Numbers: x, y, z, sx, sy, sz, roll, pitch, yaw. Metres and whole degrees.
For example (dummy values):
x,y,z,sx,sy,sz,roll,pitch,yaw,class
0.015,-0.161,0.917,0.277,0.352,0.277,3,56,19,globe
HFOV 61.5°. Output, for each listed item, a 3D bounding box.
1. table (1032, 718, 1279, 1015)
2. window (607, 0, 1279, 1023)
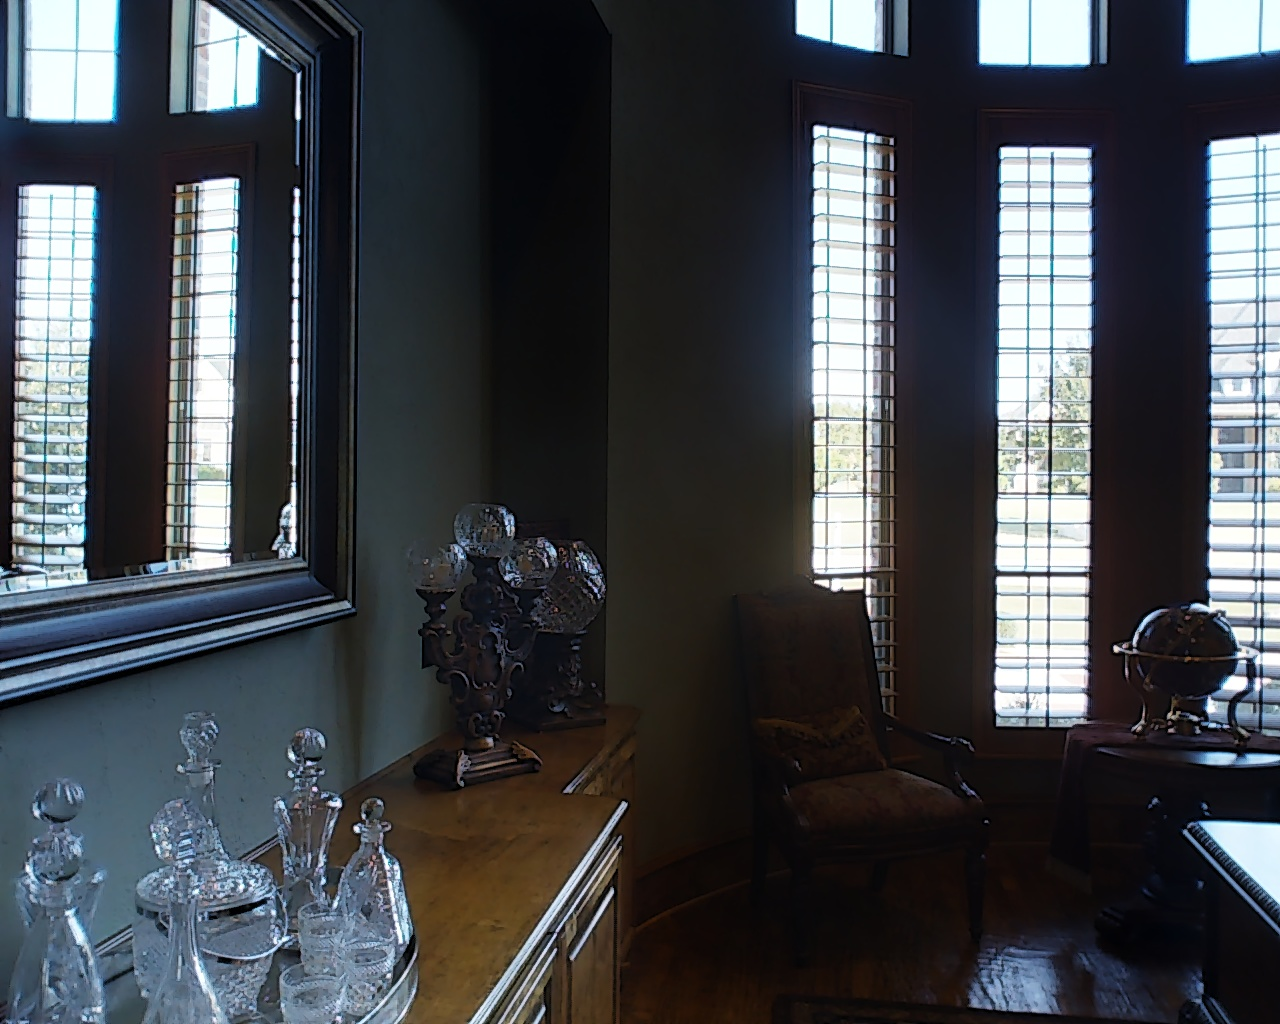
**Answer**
x,y,z,sx,sy,sz,roll,pitch,yaw,class
1.909,1.170,3.760,0.710,0.700,0.730,0,1,-34,table
2.089,-0.620,3.830,4.149,4.241,1.600,0,1,11,window
